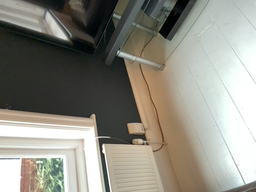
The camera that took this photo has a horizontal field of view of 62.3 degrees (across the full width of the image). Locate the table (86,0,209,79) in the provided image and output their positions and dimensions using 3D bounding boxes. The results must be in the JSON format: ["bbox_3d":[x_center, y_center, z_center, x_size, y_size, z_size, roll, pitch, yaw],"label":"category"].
[{"bbox_3d":[0.190,-0.770,1.680,1.100,0.570,0.510,-58,41,28],"label":"table"}]
